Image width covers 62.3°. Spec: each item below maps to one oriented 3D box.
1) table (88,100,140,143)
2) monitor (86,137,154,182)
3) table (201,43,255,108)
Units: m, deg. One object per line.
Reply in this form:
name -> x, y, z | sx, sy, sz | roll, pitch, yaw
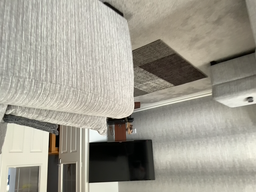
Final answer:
table -> -0.250, 0.490, 3.920 | 0.870, 0.660, 0.560 | -4, 164, 0
monitor -> -0.150, 1.100, 3.700 | 1.140, 0.660, 0.080 | -4, 164, 1
table -> 1.230, -0.180, 2.280 | 0.610, 0.430, 0.650 | -15, 161, 36
